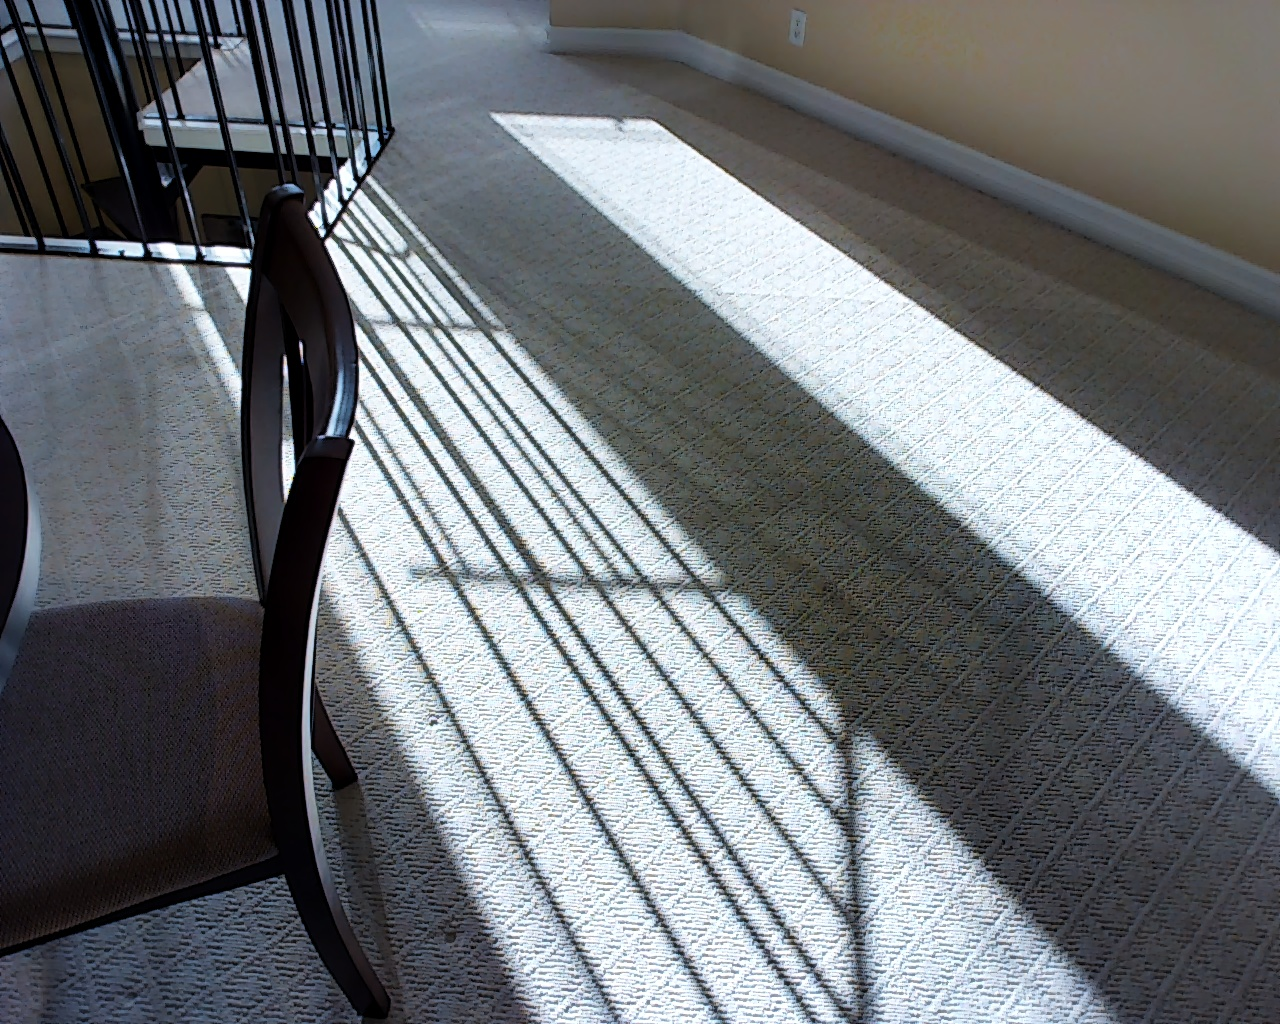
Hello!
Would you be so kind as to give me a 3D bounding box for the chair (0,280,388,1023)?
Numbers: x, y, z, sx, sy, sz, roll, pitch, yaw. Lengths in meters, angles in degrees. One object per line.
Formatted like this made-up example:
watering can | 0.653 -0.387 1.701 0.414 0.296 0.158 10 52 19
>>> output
chair | -0.640 0.270 1.210 0.530 0.830 0.530 -11 43 -13
